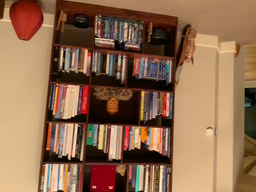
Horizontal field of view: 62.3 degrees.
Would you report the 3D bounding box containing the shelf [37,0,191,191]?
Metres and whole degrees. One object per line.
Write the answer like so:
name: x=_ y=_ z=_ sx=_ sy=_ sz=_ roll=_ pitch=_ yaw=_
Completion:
shelf: x=-0.100 y=0.070 z=2.140 sx=1.330 sy=1.870 sz=0.380 roll=4 pitch=175 yaw=-9
